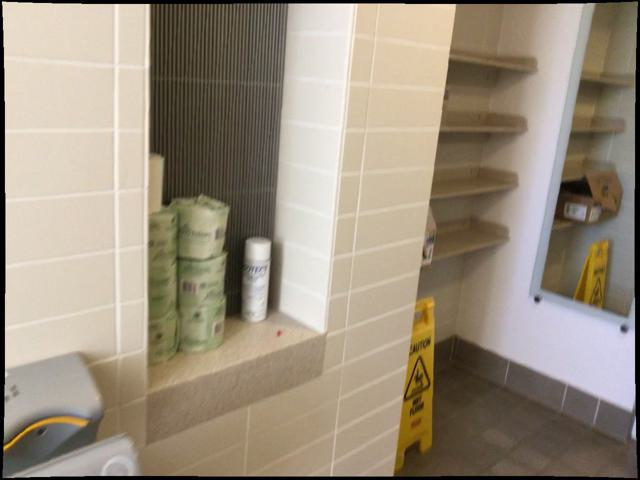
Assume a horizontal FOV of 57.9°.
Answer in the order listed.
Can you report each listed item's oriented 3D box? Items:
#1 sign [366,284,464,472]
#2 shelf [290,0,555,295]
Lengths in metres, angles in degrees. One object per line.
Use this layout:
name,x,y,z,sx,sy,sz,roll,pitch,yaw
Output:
sign,0.360,0.521,2.220,0.290,0.641,0.150,-11,23,-41
shelf,0.460,-0.390,2.360,1.229,0.961,0.260,-11,23,-41
